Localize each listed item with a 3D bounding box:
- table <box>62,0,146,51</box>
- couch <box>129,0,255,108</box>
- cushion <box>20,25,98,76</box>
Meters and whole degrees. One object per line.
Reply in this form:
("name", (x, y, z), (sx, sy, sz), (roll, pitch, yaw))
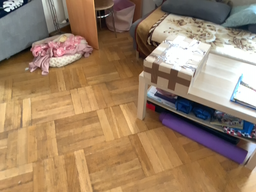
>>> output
("table", (-0.250, -1.190, 2.710), (0.530, 0.740, 1.010), (26, 48, 24))
("couch", (1.080, -0.560, 2.040), (1.950, 0.760, 0.900), (25, 47, 24))
("cushion", (-0.760, -0.550, 2.420), (0.490, 0.170, 0.670), (25, 48, 24))
